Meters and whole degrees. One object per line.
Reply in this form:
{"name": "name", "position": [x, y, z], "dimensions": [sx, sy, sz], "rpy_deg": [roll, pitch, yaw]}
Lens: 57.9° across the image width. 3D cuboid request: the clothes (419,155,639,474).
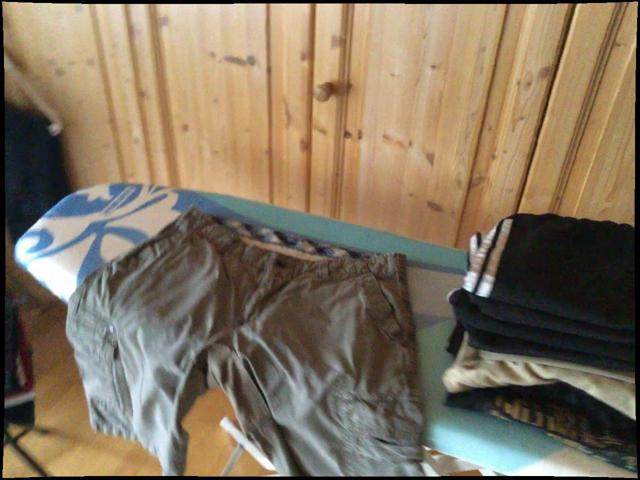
{"name": "clothes", "position": [0.420, 0.100, 0.800], "dimensions": [0.460, 0.200, 0.350], "rpy_deg": [16, 41, 18]}
